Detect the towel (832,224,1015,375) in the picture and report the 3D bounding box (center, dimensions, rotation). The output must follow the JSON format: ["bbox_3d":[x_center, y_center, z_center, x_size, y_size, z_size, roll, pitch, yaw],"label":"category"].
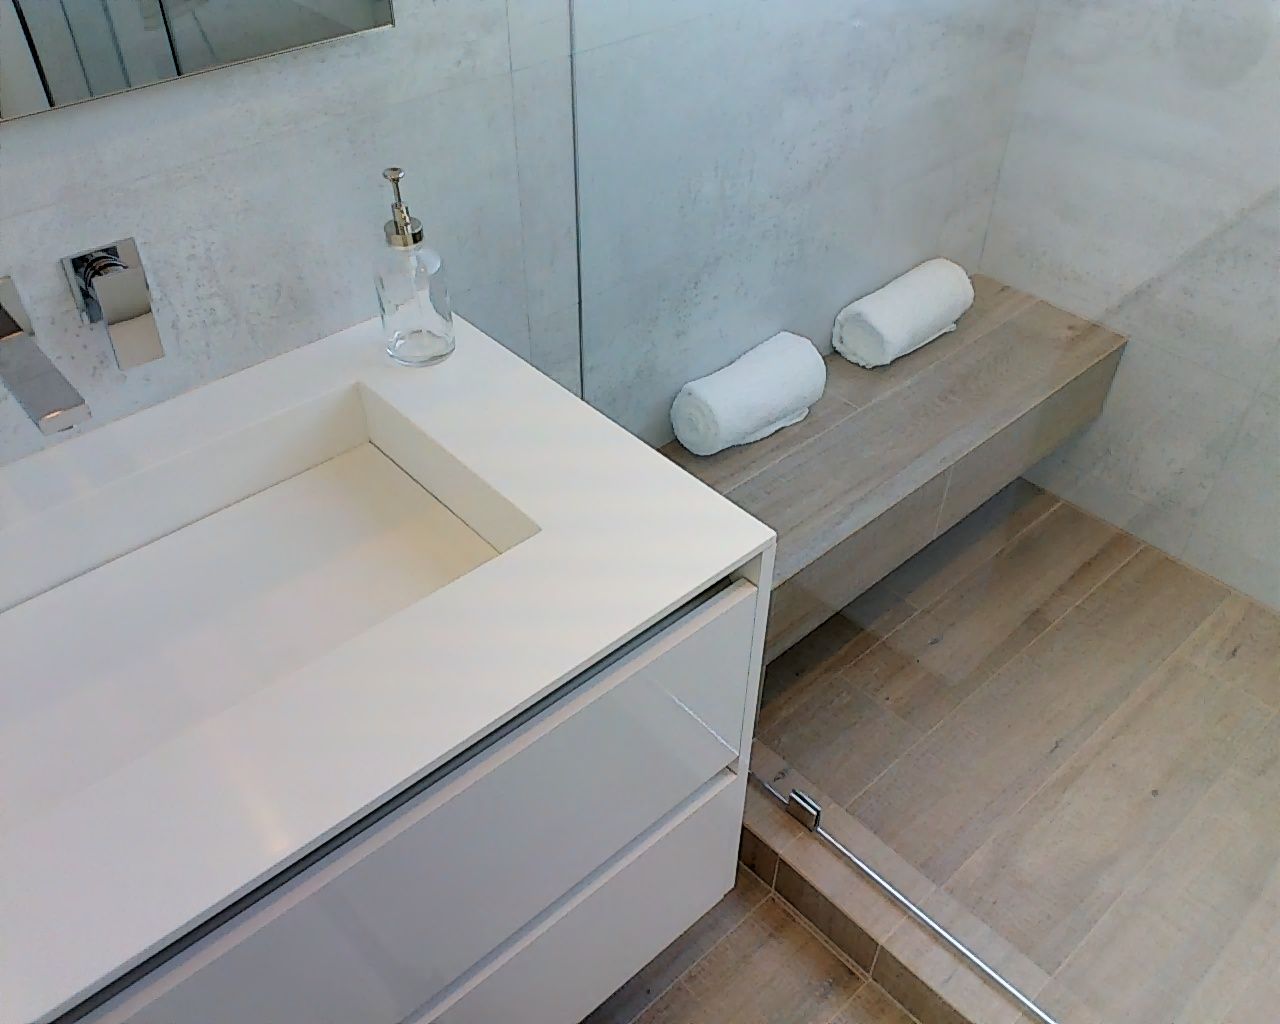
[{"bbox_3d":[0.540,-0.410,2.040,0.380,0.120,0.130,-32,48,-32],"label":"towel"}]

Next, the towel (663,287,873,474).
[{"bbox_3d":[0.220,-0.230,1.820,0.390,0.140,0.120,-32,48,-32],"label":"towel"}]

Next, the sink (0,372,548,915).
[{"bbox_3d":[-0.430,0.090,0.970,0.620,0.100,0.330,-31,48,-33],"label":"sink"}]
